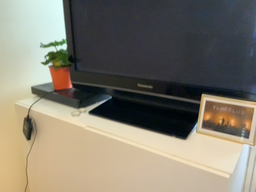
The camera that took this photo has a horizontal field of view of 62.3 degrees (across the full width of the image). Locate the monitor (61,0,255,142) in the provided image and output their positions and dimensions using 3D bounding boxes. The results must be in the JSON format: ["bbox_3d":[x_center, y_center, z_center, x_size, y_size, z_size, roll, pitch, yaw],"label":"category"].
[{"bbox_3d":[0.080,-0.240,0.840,0.920,0.660,0.050,11,21,31],"label":"monitor"}]
